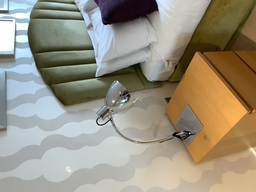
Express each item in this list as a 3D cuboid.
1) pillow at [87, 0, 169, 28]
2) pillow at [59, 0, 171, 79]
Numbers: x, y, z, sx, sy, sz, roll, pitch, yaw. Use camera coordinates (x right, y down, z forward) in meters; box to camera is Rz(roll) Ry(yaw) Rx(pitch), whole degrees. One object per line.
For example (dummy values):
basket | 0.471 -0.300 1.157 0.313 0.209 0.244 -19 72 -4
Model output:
pillow | -0.010 -0.670 1.450 0.410 0.380 0.180 43 134 23
pillow | -0.110 -0.490 1.590 0.650 0.490 0.270 44 134 24
